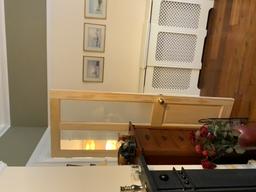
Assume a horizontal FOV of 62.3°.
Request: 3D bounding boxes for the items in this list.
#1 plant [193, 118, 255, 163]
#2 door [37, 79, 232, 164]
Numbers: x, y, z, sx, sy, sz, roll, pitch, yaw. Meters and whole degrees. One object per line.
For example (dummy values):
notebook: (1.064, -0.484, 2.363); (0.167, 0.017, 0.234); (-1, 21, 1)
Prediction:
plant: (0.930, 0.370, 1.820); (0.280, 0.610, 0.270); (-120, 33, -72)
door: (0.100, 0.310, 2.380); (0.160, 2.040, 0.890); (-116, 29, -70)
